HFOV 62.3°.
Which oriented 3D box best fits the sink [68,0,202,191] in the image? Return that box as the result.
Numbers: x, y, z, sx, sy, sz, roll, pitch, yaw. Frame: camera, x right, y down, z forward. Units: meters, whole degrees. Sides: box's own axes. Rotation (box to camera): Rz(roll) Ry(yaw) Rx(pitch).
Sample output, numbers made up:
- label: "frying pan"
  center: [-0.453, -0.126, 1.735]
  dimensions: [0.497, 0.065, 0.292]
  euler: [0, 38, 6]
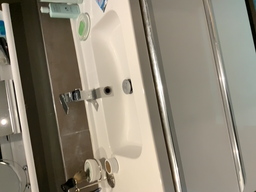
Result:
- label: "sink"
  center: [-0.010, -0.010, 0.850]
  dimensions: [0.450, 0.190, 1.020]
  euler: [-11, 88, 59]
